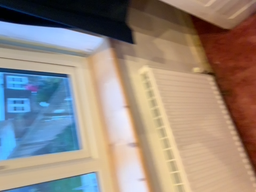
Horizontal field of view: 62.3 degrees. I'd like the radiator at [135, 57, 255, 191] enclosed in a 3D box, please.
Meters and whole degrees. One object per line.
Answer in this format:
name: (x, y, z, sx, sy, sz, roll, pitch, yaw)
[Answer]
radiator: (0.530, 0.500, 1.060, 0.110, 0.720, 1.460, -37, 59, 45)
